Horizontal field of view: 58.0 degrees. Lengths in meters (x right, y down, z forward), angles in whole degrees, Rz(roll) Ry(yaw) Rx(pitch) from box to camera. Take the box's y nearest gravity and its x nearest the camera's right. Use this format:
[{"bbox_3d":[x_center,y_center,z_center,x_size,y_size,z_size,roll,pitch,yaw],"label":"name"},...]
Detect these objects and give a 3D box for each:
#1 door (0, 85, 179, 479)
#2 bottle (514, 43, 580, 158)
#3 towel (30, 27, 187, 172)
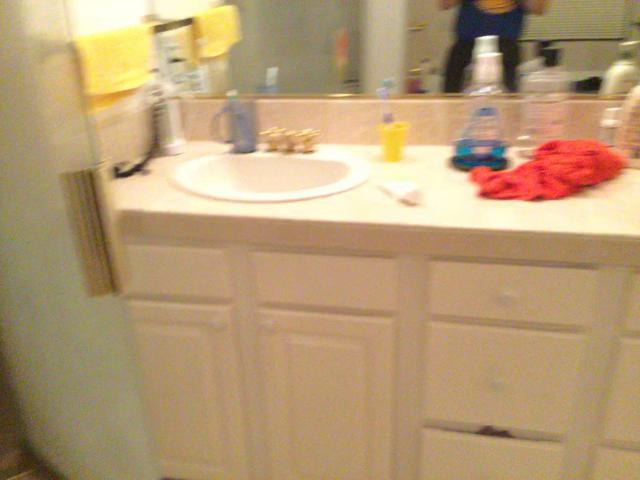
[{"bbox_3d":[-0.570,0.210,1.200,0.640,1.010,0.120,15,26,36],"label":"door"},{"bbox_3d":[0.560,-0.350,1.440,0.110,0.260,0.130,4,22,13],"label":"bottle"},{"bbox_3d":[-0.500,-0.370,1.450,0.130,0.300,0.410,4,22,13],"label":"towel"}]
